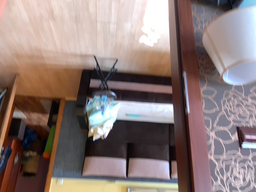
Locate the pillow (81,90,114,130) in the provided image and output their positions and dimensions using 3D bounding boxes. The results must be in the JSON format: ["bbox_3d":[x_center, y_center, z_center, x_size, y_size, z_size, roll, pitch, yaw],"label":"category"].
[{"bbox_3d":[-0.410,0.230,2.960,0.370,0.240,0.890,4,156,-5],"label":"pillow"}]
